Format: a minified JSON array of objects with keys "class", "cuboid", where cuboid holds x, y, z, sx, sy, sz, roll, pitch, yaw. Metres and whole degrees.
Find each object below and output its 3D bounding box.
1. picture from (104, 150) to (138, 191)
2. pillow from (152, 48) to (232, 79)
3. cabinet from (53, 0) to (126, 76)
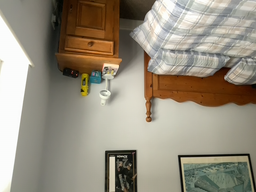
[{"class":"picture","cuboid":[-0.060,0.720,1.970,0.300,0.410,0.050,3,165,-8]},{"class":"pillow","cuboid":[0.610,-0.310,2.100,0.660,0.120,0.350,4,165,-10]},{"class":"cabinet","cuboid":[-0.350,-0.620,2.040,0.580,0.700,0.440,3,165,-10]}]
